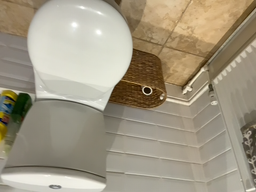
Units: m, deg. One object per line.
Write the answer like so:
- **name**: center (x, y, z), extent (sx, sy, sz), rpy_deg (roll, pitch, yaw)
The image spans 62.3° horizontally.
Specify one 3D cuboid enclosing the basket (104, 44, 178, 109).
- **basket**: center (0.070, -0.110, 1.270), extent (0.370, 0.240, 0.200), rpy_deg (12, 142, -17)
